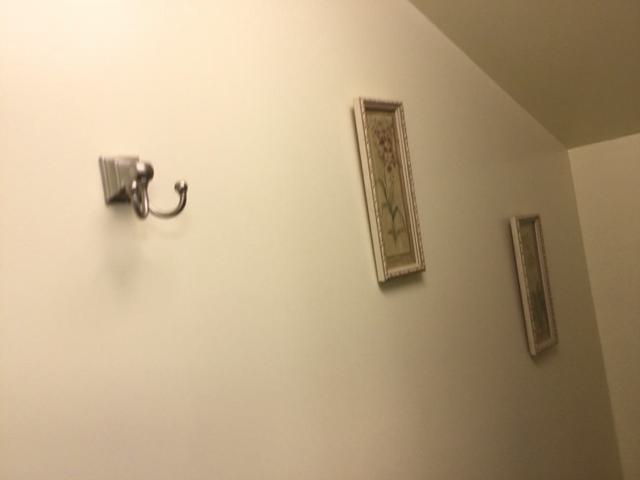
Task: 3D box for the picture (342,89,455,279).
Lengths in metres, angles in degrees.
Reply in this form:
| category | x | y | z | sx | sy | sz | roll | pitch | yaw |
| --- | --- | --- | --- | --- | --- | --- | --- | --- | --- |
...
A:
| category | x | y | z | sx | sy | sz | roll | pitch | yaw |
| --- | --- | --- | --- | --- | --- | --- | --- | --- | --- |
| picture | 0.150 | -0.100 | 1.080 | 0.210 | 0.330 | 0.040 | -2 | -8 | -42 |

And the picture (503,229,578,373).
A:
| category | x | y | z | sx | sy | sz | roll | pitch | yaw |
| --- | --- | --- | --- | --- | --- | --- | --- | --- | --- |
| picture | 0.540 | 0.140 | 1.410 | 0.210 | 0.330 | 0.030 | -2 | -8 | -42 |
